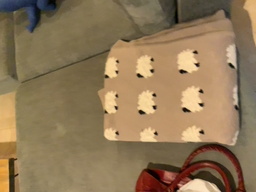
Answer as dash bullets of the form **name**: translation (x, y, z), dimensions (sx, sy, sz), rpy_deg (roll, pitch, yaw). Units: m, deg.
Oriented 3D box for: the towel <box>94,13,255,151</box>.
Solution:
- **towel**: translation (0.120, -0.020, 0.680), dimensions (0.480, 0.050, 0.340), rpy_deg (-12, 78, 24)
